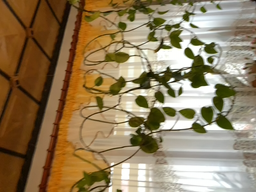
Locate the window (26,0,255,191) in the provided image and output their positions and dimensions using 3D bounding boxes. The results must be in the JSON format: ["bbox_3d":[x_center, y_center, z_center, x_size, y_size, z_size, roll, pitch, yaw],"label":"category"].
[{"bbox_3d":[0.290,0.060,1.490,0.260,1.710,2.140,71,-160,-66],"label":"window"}]
